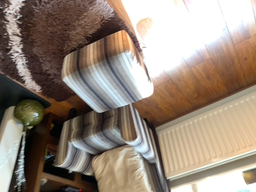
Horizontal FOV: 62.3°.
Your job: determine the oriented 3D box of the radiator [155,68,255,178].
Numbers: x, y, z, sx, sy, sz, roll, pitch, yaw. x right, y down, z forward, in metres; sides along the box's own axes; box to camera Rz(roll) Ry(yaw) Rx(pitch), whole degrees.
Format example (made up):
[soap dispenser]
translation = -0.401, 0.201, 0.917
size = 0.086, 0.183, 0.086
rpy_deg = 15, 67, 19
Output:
[radiator]
translation = 0.980, 0.200, 1.960
size = 1.420, 0.680, 0.200
rpy_deg = -26, 137, 22
